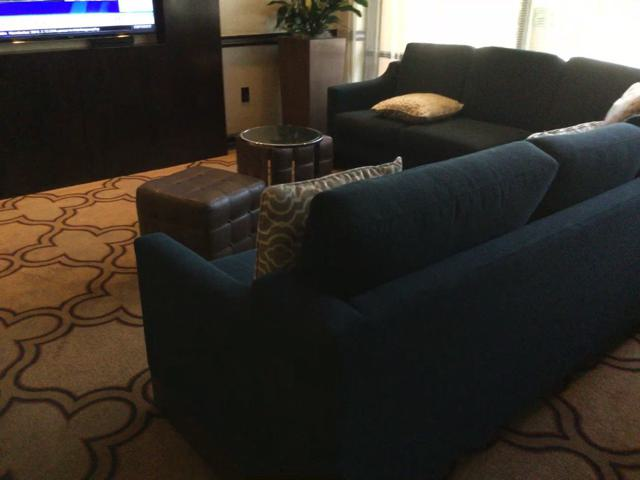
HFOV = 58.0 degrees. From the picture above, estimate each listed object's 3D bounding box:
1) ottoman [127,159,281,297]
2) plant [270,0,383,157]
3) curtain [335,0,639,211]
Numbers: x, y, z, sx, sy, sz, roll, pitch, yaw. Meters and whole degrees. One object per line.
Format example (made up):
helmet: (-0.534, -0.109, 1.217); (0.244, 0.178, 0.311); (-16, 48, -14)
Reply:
ottoman: (-0.570, -0.090, 2.950); (0.510, 0.460, 0.540); (16, 27, 31)
plant: (0.040, -1.500, 4.950); (0.680, 1.380, 0.630); (-17, 29, -37)
curtain: (1.410, -1.210, 3.920); (0.260, 1.530, 3.610); (-17, 29, -37)
